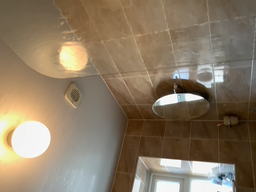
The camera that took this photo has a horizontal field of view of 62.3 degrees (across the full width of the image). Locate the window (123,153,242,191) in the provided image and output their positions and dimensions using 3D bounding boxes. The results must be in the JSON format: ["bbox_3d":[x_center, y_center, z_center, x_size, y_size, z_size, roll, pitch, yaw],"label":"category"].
[{"bbox_3d":[0.470,1.160,1.940,0.420,1.040,1.100,62,-145,-44],"label":"window"}]
